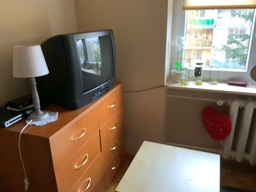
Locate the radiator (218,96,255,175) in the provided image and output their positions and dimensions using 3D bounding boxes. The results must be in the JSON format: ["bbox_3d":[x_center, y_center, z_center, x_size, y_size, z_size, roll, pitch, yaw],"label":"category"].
[{"bbox_3d":[1.100,0.360,1.890,0.460,0.650,0.200,6,21,19],"label":"radiator"}]

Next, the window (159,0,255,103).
[{"bbox_3d":[1.050,-0.740,1.550,1.560,1.580,0.300,8,22,22],"label":"window"}]
